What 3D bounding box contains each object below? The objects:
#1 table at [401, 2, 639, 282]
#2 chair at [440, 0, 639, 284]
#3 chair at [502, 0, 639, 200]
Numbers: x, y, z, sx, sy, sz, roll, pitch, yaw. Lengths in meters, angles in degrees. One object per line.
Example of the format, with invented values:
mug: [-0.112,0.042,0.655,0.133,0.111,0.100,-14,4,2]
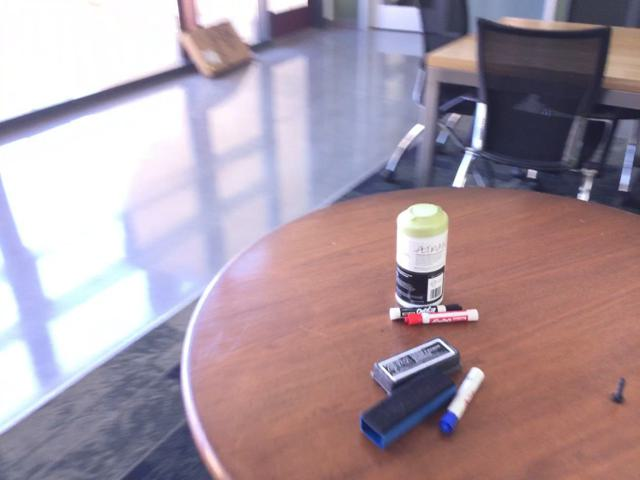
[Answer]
table: [1.700,-0.360,2.290,2.500,0.780,1.080,18,38,30]
chair: [0.900,-0.430,2.330,0.580,0.930,0.560,18,38,30]
chair: [1.340,-0.780,2.850,0.600,0.900,0.560,18,38,30]
